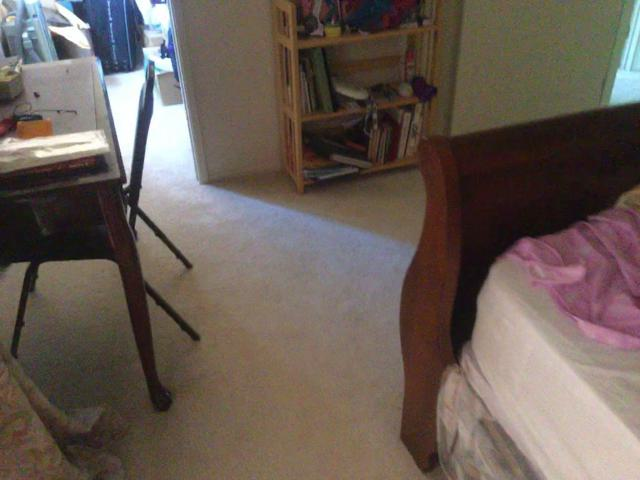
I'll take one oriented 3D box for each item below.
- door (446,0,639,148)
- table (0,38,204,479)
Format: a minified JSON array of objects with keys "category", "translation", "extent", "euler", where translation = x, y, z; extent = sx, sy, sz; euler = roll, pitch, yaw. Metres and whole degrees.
[{"category":"door","translation":[1.090,-1.100,2.720],"extent":[0.870,1.250,0.230],"euler":[-6,34,-4]},{"category":"table","translation":[-0.830,-0.020,1.690],"extent":[0.610,0.790,1.060],"euler":[-16,36,-17]}]
